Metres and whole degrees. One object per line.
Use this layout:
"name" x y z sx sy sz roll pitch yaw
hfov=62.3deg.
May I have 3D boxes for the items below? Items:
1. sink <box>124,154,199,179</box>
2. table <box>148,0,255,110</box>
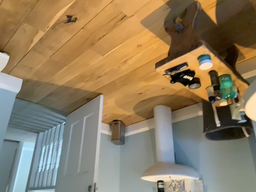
"sink" 0.340 0.770 2.260 0.430 0.160 0.650 23 147 -38
"table" 0.540 -0.240 1.410 0.830 0.390 0.320 22 147 -37
